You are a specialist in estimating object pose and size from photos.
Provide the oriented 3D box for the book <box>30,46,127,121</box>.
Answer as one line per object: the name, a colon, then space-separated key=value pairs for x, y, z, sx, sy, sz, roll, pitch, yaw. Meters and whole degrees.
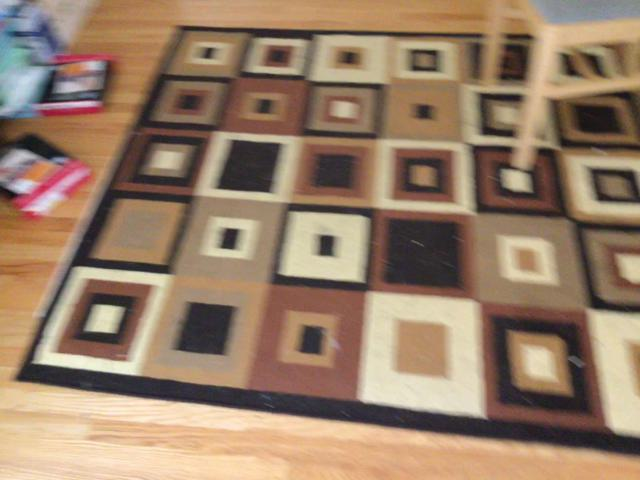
book: x=-0.830 y=-0.550 z=2.010 sx=0.250 sy=0.060 sz=0.310 roll=-6 pitch=50 yaw=2

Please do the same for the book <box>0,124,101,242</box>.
book: x=-0.880 y=-0.180 z=1.720 sx=0.350 sy=0.090 sz=0.260 roll=27 pitch=58 yaw=26

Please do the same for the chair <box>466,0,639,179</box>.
chair: x=0.770 y=-0.680 z=1.420 sx=0.640 sy=0.950 sz=0.480 roll=-4 pitch=50 yaw=4
